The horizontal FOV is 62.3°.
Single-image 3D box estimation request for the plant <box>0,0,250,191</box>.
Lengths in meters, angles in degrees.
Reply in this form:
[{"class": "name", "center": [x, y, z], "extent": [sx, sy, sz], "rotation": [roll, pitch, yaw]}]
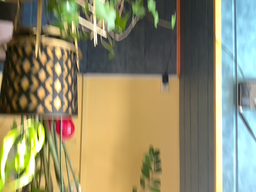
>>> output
[{"class": "plant", "center": [-0.150, -0.350, 1.070], "extent": [0.950, 2.630, 1.000], "rotation": [1, 177, 1]}]
